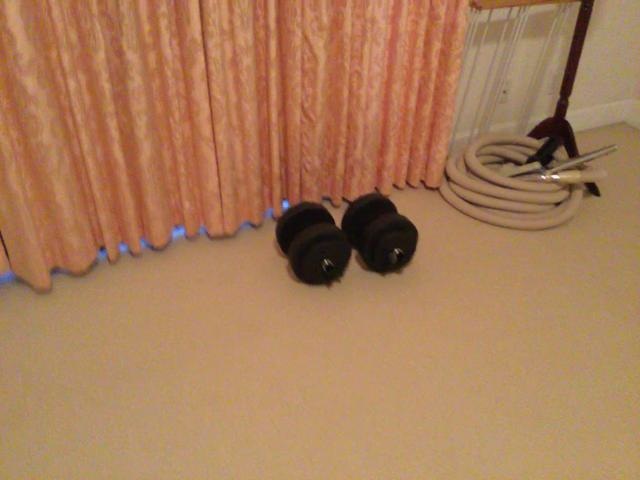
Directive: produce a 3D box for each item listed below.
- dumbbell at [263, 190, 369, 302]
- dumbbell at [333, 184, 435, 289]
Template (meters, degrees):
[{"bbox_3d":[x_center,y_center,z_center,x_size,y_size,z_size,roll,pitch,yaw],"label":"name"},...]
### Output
[{"bbox_3d":[-0.020,0.010,1.950,0.230,0.210,0.300,-16,36,-25],"label":"dumbbell"},{"bbox_3d":[0.210,-0.020,1.990,0.220,0.210,0.270,-16,36,-25],"label":"dumbbell"}]
